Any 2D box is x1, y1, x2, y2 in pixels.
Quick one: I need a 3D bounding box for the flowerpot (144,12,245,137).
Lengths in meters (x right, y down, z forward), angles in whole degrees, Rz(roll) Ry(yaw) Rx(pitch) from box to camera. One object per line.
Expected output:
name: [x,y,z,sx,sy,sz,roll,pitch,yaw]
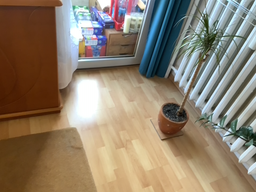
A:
flowerpot: [0.380,-0.100,1.480,0.250,0.820,0.330,-3,46,-20]
